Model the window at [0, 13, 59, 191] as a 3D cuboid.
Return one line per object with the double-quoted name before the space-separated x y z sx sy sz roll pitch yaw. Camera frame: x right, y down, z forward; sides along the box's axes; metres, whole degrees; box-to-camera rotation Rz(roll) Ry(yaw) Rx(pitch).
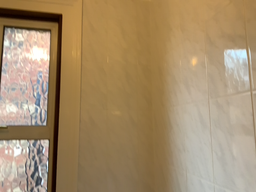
"window" -0.800 0.250 1.230 0.710 1.510 0.090 2 -8 -15
